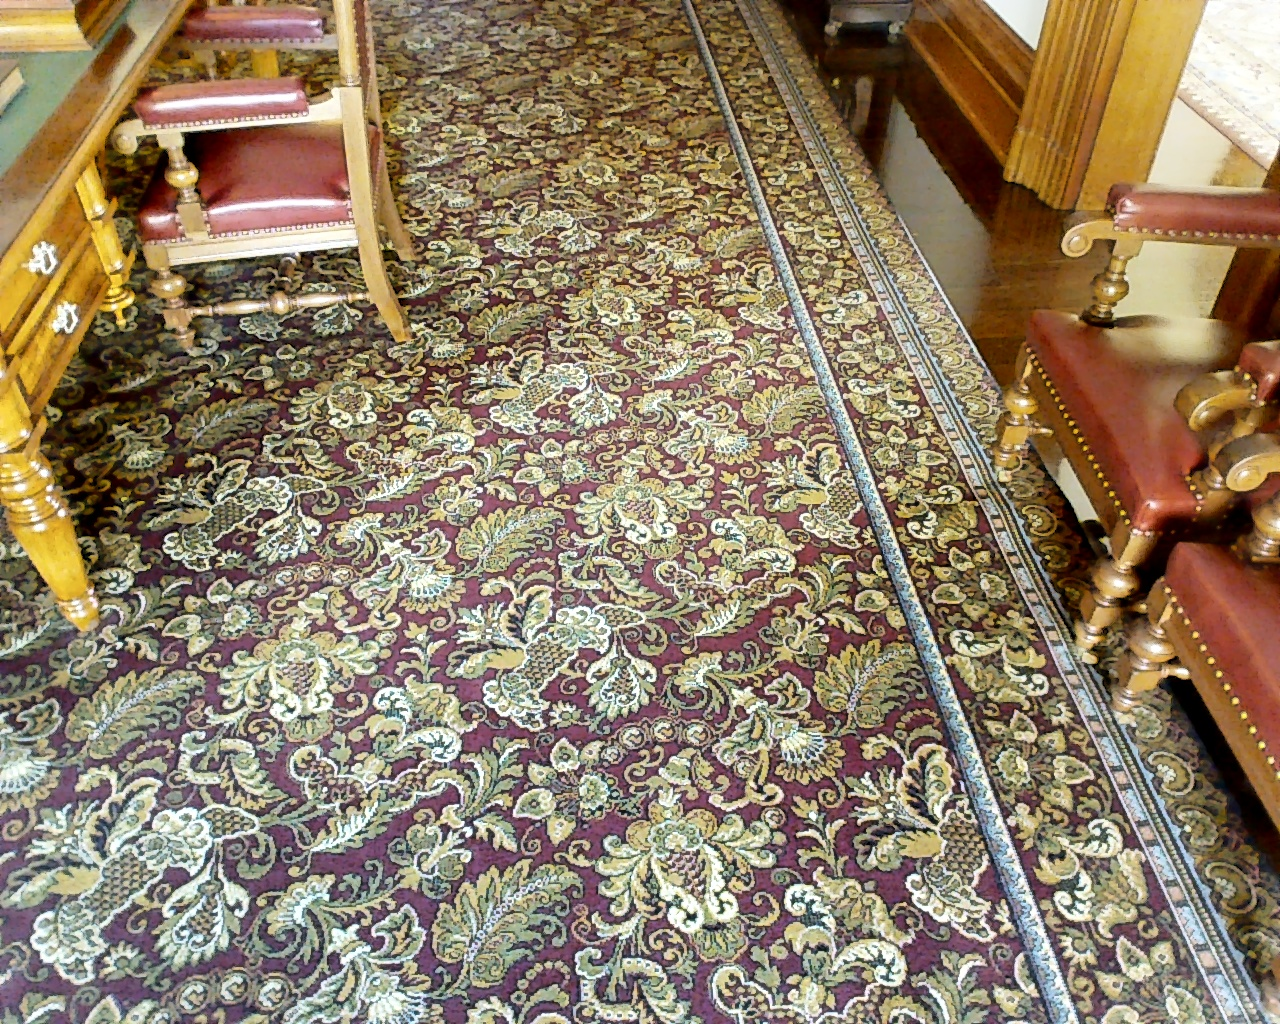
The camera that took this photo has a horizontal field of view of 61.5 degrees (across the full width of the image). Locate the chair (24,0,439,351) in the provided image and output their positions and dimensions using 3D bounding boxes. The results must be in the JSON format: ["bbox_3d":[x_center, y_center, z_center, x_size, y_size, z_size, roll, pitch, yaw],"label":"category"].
[{"bbox_3d":[-0.920,-1.130,2.540,0.690,1.320,0.650,-3,43,-4],"label":"chair"}]

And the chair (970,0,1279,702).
[{"bbox_3d":[1.100,-0.390,1.800,0.610,1.270,0.740,-3,43,-4],"label":"chair"}]
